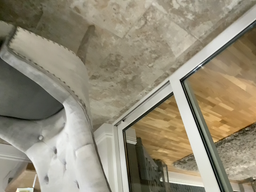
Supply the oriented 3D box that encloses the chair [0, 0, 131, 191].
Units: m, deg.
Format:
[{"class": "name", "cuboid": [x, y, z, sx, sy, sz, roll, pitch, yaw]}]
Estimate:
[{"class": "chair", "cuboid": [-0.480, 0.030, 0.980, 0.670, 1.030, 0.570, 21, 133, -33]}]
